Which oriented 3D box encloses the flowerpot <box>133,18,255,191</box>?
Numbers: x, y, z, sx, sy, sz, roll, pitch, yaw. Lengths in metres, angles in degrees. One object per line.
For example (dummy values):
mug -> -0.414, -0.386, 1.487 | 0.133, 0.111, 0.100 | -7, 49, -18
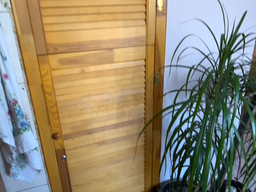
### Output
flowerpot -> 0.280, 0.320, 1.000 | 0.420, 1.260, 0.330 | -8, 26, -17
